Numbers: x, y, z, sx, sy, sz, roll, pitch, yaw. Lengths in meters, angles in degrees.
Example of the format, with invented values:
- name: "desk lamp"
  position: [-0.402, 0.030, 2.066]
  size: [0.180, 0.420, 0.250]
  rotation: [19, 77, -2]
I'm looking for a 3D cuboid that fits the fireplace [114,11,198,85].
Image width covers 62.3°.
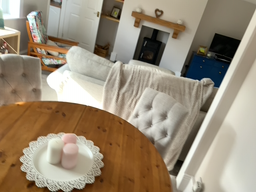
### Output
- name: "fireplace"
  position: [0.640, -1.200, 5.100]
  size: [1.540, 1.190, 0.930]
  rotation: [18, 24, 3]

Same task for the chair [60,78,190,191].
- name: "chair"
  position: [-0.060, 0.430, 1.510]
  size: [0.460, 0.960, 0.560]
  rotation: [33, 29, 31]

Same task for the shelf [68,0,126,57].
- name: "shelf"
  position: [-0.740, -2.030, 5.240]
  size: [1.090, 1.790, 0.430]
  rotation: [18, 24, 3]

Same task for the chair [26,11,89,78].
- name: "chair"
  position: [-1.240, -0.920, 3.760]
  size: [0.870, 0.830, 0.810]
  rotation: [8, 26, -19]
